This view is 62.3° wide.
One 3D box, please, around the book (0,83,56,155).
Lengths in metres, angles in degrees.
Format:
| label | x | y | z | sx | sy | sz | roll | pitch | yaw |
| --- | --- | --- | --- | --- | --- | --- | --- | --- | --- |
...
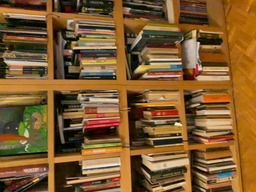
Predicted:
| label | x | y | z | sx | sy | sz | roll | pitch | yaw |
| --- | --- | --- | --- | --- | --- | --- | --- | --- | --- |
| book | -0.600 | 0.130 | 1.200 | 0.240 | 0.360 | 0.360 | 151 | 117 | -71 |

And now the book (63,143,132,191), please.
| label | x | y | z | sx | sy | sz | roll | pitch | yaw |
| --- | --- | --- | --- | --- | --- | --- | --- | --- | --- |
| book | -0.200 | 0.480 | 1.290 | 0.300 | 0.370 | 0.320 | 161 | 108 | -72 |

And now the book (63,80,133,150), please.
| label | x | y | z | sx | sy | sz | roll | pitch | yaw |
| --- | --- | --- | --- | --- | --- | --- | --- | --- | --- |
| book | -0.210 | 0.120 | 1.340 | 0.300 | 0.380 | 0.380 | 149 | 119 | -70 |
